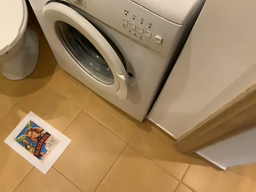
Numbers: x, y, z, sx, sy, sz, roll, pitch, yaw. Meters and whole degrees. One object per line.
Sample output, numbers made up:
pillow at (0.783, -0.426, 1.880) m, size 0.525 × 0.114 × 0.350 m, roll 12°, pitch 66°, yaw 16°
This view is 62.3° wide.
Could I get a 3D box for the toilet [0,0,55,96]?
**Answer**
toilet at (-0.670, -0.460, 1.010) m, size 0.380 × 0.730 × 0.670 m, roll -10°, pitch 70°, yaw -6°
